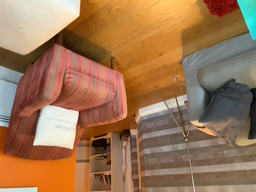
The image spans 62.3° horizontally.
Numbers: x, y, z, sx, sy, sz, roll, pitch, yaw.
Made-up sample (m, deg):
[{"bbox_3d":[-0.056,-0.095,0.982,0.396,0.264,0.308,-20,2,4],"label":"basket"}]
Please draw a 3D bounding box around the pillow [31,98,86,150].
[{"bbox_3d":[-0.610,0.260,1.900,0.430,0.350,0.150,22,133,-41],"label":"pillow"}]

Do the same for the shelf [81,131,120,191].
[{"bbox_3d":[-0.640,1.970,4.910,0.850,2.160,0.370,-16,155,31],"label":"shelf"}]
